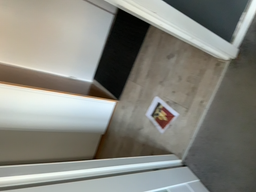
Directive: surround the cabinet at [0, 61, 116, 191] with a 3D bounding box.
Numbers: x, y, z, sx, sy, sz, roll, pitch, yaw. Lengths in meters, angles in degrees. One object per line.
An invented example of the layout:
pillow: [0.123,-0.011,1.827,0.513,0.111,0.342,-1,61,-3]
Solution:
cabinet: [-1.390,0.240,1.840,0.670,2.370,1.040,36,109,46]
